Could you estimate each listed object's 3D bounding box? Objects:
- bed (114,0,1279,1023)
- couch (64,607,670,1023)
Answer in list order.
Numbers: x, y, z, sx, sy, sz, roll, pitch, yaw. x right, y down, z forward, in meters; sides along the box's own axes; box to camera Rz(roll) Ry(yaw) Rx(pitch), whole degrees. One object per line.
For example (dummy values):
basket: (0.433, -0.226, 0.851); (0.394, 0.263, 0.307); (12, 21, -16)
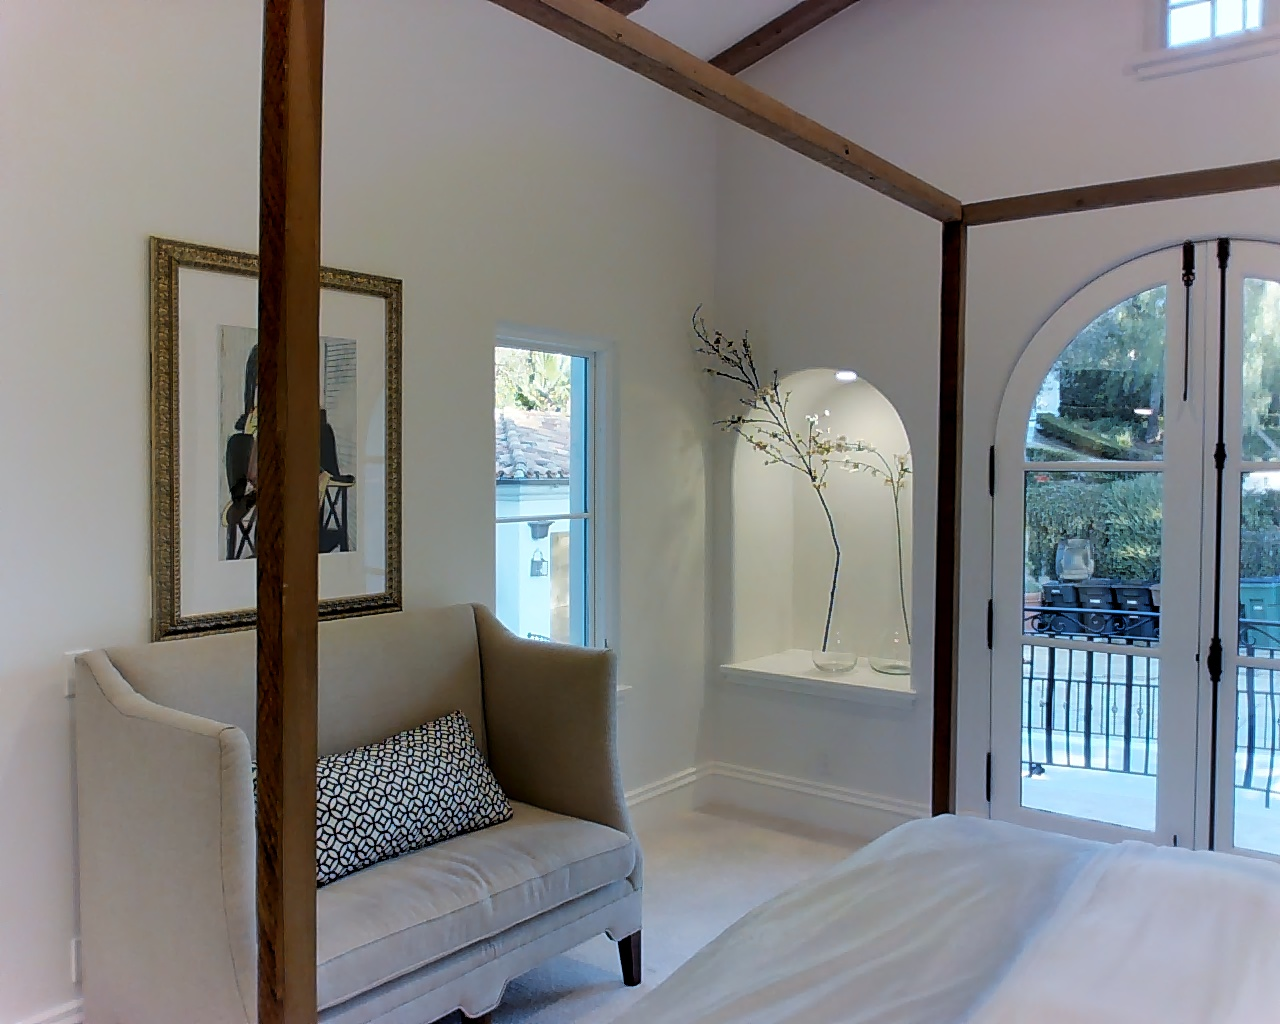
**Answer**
bed: (1.090, 0.370, 1.200); (2.490, 2.421, 2.130); (2, 1, 38)
couch: (-0.710, 0.950, 3.070); (0.920, 1.180, 1.390); (2, 1, 38)
